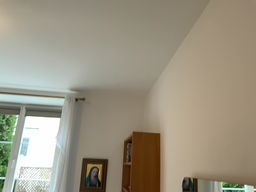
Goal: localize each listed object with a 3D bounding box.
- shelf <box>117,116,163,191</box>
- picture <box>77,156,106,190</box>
[{"bbox_3d":[0.090,1.450,2.520,0.390,2.240,0.980,4,-18,-6],"label":"shelf"},{"bbox_3d":[-0.520,1.110,3.070,0.360,0.450,0.110,4,-18,-3],"label":"picture"}]
